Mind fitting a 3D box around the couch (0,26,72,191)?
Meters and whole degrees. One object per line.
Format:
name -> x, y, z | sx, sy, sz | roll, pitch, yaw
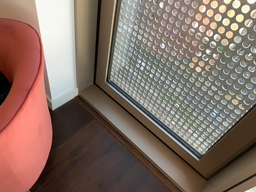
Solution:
couch -> -0.700, 0.190, 1.010 | 0.620, 0.750, 0.730 | 13, 50, -3
